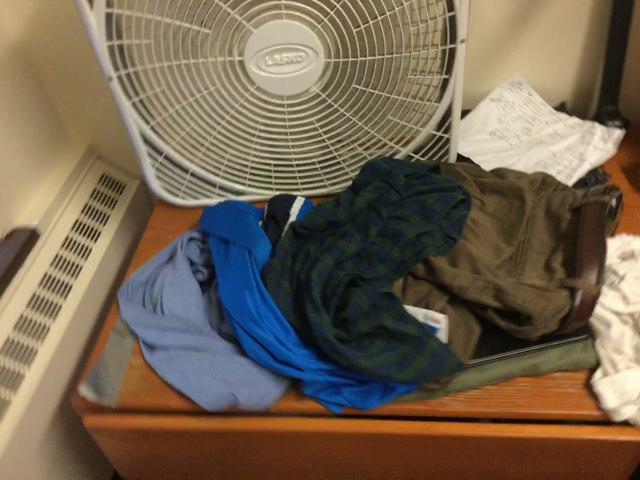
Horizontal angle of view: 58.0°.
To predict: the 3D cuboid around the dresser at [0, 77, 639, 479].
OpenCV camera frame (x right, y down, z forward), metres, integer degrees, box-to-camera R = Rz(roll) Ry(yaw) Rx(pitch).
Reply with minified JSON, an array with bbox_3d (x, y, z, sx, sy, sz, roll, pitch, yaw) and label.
[{"bbox_3d":[0.100,0.230,1.170,0.920,0.820,0.680,0,44,9],"label":"dresser"}]
